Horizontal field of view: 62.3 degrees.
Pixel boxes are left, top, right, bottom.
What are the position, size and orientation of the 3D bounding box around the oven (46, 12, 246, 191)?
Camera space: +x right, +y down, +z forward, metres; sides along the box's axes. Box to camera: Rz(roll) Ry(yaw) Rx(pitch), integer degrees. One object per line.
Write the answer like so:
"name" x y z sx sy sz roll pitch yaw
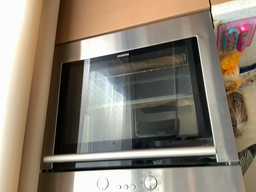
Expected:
"oven" 0.100 0.130 0.920 0.560 0.570 0.590 -7 160 17
